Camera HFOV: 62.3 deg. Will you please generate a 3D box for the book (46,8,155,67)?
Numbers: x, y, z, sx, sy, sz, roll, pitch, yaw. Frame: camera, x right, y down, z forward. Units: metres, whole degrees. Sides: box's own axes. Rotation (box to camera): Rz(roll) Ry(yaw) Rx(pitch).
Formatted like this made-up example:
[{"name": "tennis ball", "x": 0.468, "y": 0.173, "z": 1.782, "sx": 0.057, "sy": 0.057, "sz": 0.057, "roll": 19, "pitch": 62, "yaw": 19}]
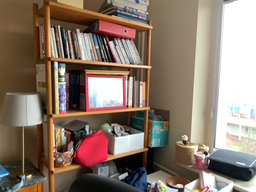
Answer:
[{"name": "book", "x": -0.190, "y": -0.380, "z": 1.580, "sx": 0.680, "sy": 0.280, "sz": 0.420, "roll": -1, "pitch": 6, "yaw": -40}]
